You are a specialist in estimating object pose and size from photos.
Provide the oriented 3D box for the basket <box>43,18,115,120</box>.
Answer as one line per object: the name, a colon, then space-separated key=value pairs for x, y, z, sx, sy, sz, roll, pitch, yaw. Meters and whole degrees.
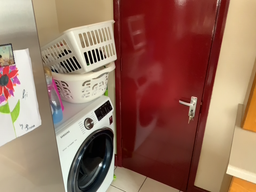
basket: x=-0.290 y=-0.200 z=1.420 sx=0.200 sy=0.560 sz=0.400 roll=16 pitch=30 yaw=28
